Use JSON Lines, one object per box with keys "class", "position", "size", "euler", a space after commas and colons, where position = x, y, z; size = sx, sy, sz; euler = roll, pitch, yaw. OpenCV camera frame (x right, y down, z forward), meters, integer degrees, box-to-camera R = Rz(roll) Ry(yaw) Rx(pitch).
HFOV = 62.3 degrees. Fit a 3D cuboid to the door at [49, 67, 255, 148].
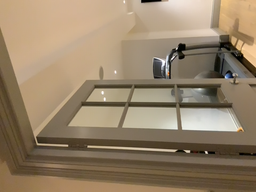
{"class": "door", "position": [0.610, 0.010, 1.360], "size": [0.850, 1.980, 0.040], "euler": [-74, -19, -58]}
